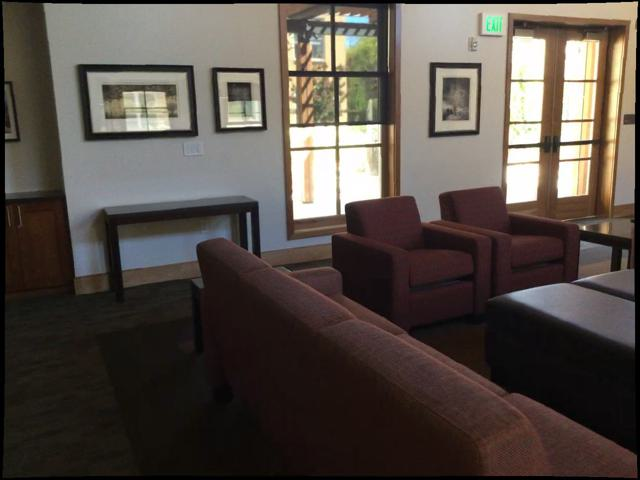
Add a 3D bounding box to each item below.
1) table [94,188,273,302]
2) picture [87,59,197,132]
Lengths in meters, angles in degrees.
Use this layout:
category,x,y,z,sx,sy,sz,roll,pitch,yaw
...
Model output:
category,x,y,z,sx,sy,sz,roll,pitch,yaw
table,-1.119,0.000,4.810,1.309,0.681,0.500,-9,15,-25
picture,-1.429,-1.181,4.700,0.799,0.541,0.070,-9,15,-25
